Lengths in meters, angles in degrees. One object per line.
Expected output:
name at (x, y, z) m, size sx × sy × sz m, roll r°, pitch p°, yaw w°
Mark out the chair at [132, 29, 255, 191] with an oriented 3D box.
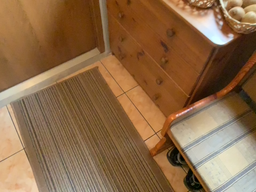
chair at (0.480, 0.290, 0.920) m, size 0.660 × 0.910 × 0.620 m, roll -28°, pitch 64°, yaw -16°
